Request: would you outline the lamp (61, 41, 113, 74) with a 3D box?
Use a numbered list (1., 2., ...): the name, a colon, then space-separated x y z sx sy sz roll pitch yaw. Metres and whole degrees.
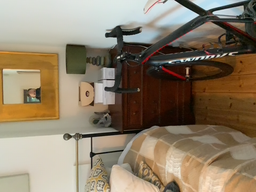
1. lamp: -0.430 -0.380 2.180 0.310 0.480 0.270 -175 85 -69
